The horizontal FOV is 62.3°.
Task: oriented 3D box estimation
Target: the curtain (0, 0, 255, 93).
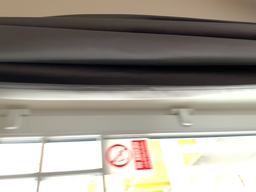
[{"bbox_3d":[0.210,-0.290,0.900,0.220,2.410,0.530,107,159,-49],"label":"curtain"}]
